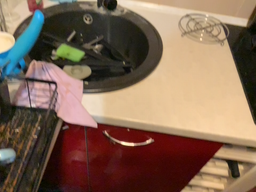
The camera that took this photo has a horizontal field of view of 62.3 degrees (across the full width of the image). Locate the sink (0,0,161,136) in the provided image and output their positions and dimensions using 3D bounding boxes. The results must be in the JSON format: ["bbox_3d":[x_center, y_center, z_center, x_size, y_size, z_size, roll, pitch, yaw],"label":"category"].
[{"bbox_3d":[-0.140,-0.160,0.800,0.490,0.180,0.520,10,48,-1],"label":"sink"}]
